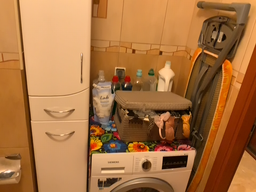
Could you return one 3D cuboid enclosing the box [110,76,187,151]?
[{"bbox_3d":[0.090,0.080,1.360,0.320,0.240,0.520,1,25,-14],"label":"box"}]
